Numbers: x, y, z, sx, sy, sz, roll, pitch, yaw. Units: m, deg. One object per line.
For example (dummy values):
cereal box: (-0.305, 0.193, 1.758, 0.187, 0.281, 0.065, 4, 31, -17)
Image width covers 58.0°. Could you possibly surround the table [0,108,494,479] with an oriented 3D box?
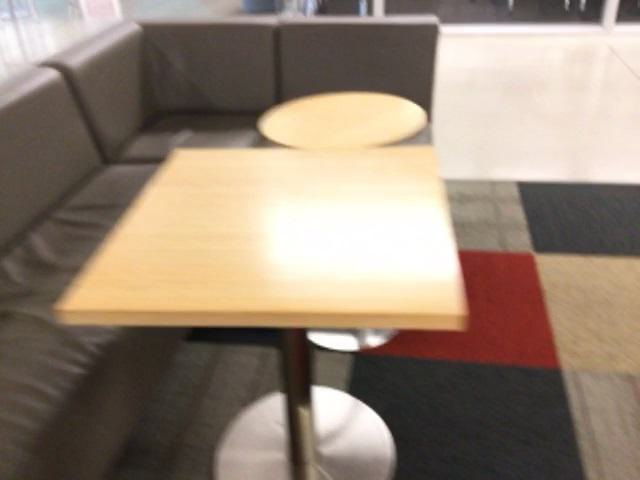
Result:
table: (-0.060, 0.230, 1.250, 0.660, 0.810, 0.670, -1, 31, 6)
